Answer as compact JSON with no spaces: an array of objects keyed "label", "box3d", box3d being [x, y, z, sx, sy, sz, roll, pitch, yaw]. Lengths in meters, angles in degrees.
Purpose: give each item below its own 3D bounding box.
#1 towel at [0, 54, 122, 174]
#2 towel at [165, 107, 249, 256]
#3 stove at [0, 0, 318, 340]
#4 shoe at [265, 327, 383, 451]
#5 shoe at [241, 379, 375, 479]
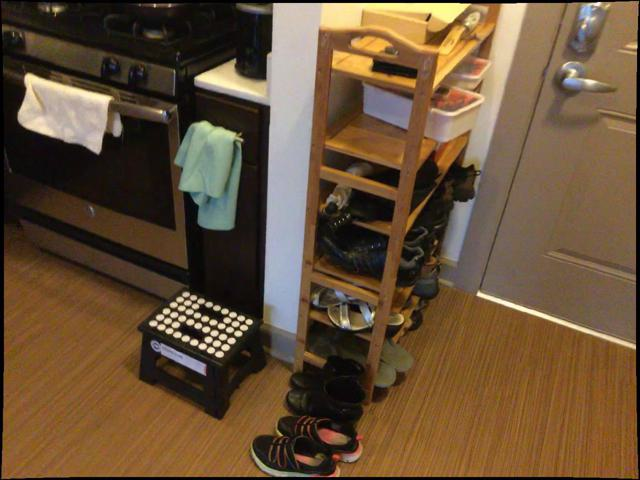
[{"label":"towel","box3d":[-0.698,-0.341,1.560,0.319,0.210,0.080,22,38,13]},{"label":"towel","box3d":[-0.309,-0.150,1.550,0.170,0.350,0.110,22,38,13]},{"label":"stove","box3d":[-0.599,-0.471,1.880,0.859,1.142,0.740,22,38,12]},{"label":"shoe","box3d":[0.010,0.411,1.610,0.250,0.180,0.180,23,38,13]},{"label":"shoe","box3d":[-0.030,0.531,1.520,0.280,0.100,0.210,23,38,13]}]
